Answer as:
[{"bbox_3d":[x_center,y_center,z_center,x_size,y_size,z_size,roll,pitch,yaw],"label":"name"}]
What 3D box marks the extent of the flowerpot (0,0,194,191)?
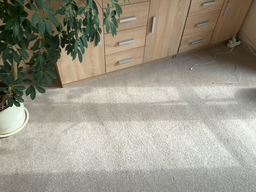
[{"bbox_3d":[-0.540,-0.500,1.100,1.310,1.780,1.050,-15,48,-17],"label":"flowerpot"}]
